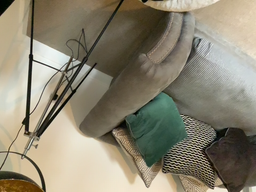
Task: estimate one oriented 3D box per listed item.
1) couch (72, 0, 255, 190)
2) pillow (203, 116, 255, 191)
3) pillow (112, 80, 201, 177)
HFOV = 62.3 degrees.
[{"bbox_3d":[0.580,0.140,1.790,1.670,0.730,1.120,25,145,-17],"label":"couch"},{"bbox_3d":[0.820,0.470,1.700,0.400,0.450,0.200,30,143,-23],"label":"pillow"},{"bbox_3d":[0.230,0.230,1.540,0.490,0.440,0.230,46,137,-7],"label":"pillow"}]
